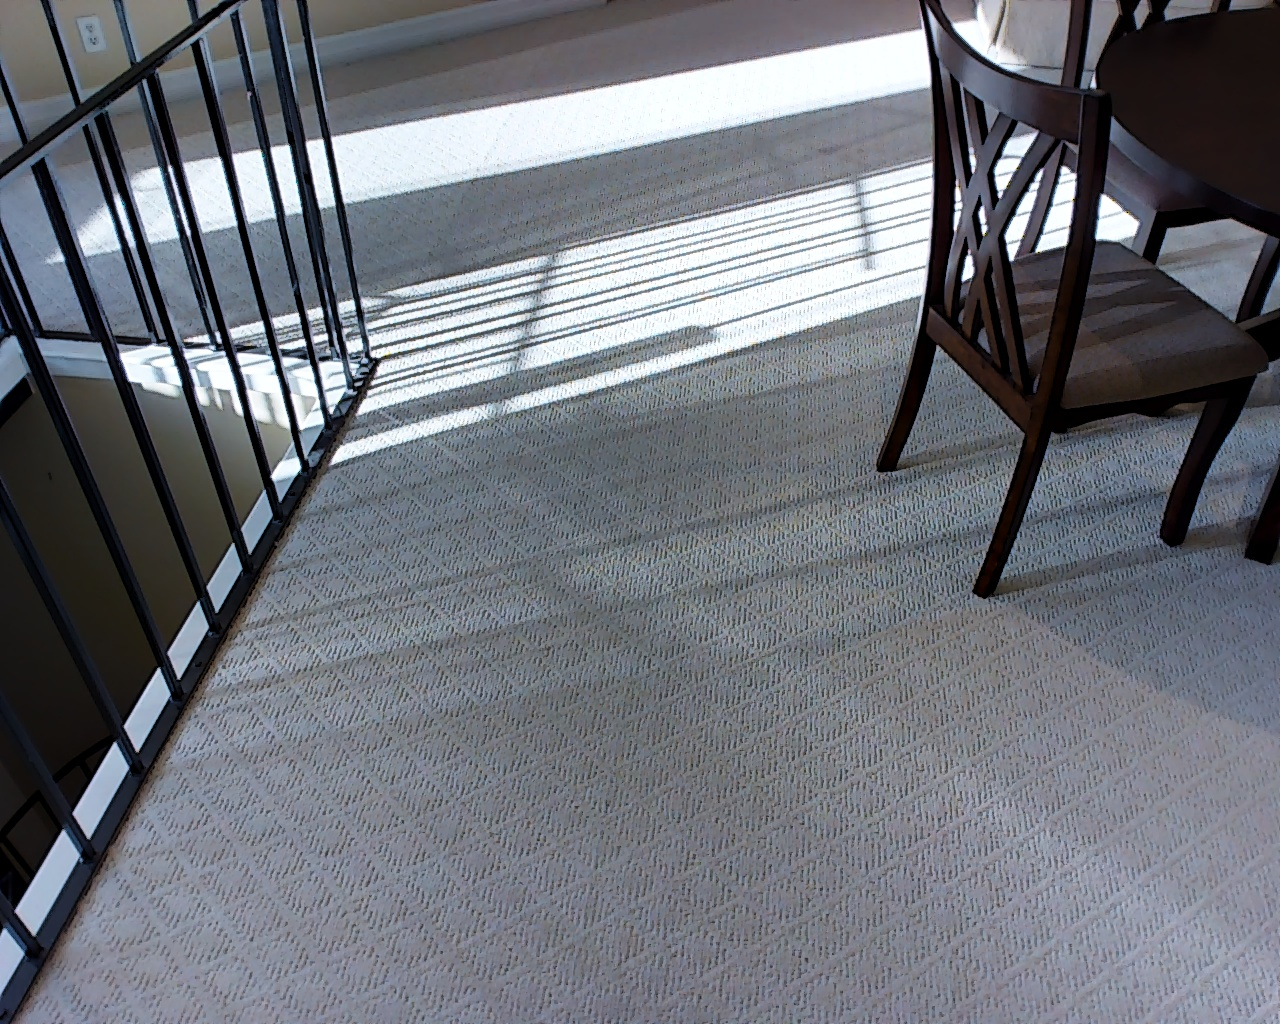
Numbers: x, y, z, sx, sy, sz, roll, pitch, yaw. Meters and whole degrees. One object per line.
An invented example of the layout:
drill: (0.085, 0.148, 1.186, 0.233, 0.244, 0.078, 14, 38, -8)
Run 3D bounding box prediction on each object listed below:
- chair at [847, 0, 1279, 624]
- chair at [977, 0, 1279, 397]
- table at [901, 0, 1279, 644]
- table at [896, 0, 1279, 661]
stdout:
chair: (0.810, -0.370, 1.900, 0.560, 0.880, 0.500, -25, 48, -26)
chair: (1.230, -0.790, 2.430, 0.530, 0.830, 0.530, -9, 43, -11)
table: (1.400, -0.400, 2.100, 1.320, 0.740, 1.190, 20, 45, 20)
table: (1.390, -0.420, 2.100, 1.170, 0.720, 1.130, -26, 49, -27)
